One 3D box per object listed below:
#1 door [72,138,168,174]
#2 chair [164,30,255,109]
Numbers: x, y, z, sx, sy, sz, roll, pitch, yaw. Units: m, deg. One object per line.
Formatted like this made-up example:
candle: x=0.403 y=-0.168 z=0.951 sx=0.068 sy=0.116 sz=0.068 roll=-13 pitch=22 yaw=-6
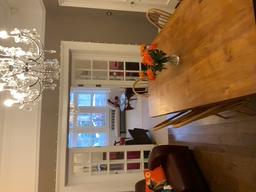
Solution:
door: x=-0.130 y=1.150 z=4.160 sx=0.150 sy=1.850 sz=0.580 roll=139 pitch=131 yaw=-75
chair: x=0.830 y=-0.180 z=1.860 sx=0.510 sy=0.870 sz=0.510 roll=135 pitch=135 yaw=-74
